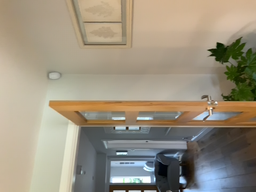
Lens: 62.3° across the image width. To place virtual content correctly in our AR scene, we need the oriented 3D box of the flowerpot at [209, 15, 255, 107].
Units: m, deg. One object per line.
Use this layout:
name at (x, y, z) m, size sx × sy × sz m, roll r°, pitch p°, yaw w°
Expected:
flowerpot at (1.150, -0.210, 1.720) m, size 0.760 × 0.660 × 0.510 m, roll 97°, pitch 173°, yaw -81°

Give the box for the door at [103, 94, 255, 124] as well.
door at (0.650, 0.130, 1.670) m, size 0.820 × 1.610 × 0.110 m, roll 96°, pitch 174°, yaw -79°
